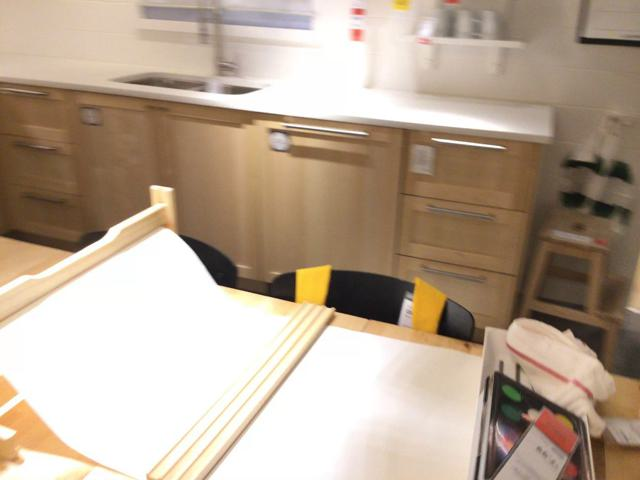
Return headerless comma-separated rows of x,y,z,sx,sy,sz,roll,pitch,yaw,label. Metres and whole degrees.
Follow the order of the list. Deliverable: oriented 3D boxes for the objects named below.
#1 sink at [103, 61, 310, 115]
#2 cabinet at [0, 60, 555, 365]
-0.520,-0.730,2.720,0.840,0.130,0.440,10,24,19,sink
-0.300,-0.260,2.700,2.470,0.900,0.660,10,24,19,cabinet
